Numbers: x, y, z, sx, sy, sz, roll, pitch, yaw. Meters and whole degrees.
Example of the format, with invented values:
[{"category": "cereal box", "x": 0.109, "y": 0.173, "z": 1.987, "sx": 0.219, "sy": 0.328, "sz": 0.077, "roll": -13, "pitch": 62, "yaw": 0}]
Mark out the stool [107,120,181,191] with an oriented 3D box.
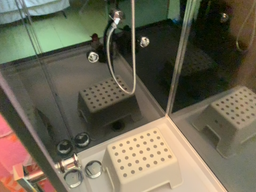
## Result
[{"category": "stool", "x": 0.080, "y": 0.380, "z": 1.260, "sx": 0.300, "sy": 0.250, "sz": 0.300, "roll": -19, "pitch": 51, "yaw": -15}]
